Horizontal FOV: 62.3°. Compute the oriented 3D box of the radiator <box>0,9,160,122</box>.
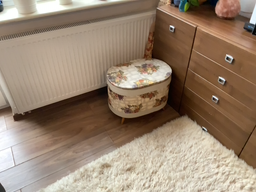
[{"bbox_3d":[-0.320,-0.290,1.830,1.220,0.660,0.230,-19,44,-23],"label":"radiator"}]
